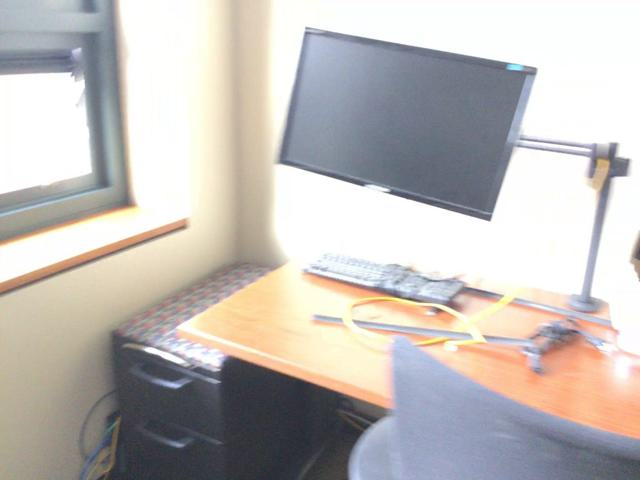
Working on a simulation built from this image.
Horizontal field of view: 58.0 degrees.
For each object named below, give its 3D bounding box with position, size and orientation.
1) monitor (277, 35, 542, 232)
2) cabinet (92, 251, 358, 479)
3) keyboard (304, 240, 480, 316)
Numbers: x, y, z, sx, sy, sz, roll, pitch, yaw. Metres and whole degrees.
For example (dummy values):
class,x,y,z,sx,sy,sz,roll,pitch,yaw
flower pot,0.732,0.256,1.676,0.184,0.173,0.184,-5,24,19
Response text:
class,x,y,z,sx,sy,sz,roll,pitch,yaw
monitor,0.170,-0.260,1.300,0.550,0.360,0.140,13,21,30
cabinet,-0.260,0.450,1.810,0.460,0.600,0.660,13,21,30
keyboard,0.190,0.090,1.560,0.420,0.050,0.210,13,21,30
